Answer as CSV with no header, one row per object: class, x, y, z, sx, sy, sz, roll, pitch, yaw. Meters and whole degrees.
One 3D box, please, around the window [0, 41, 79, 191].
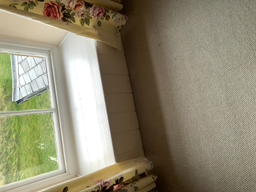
window,-0.910,0.130,1.240,0.080,1.310,0.950,-10,86,41
